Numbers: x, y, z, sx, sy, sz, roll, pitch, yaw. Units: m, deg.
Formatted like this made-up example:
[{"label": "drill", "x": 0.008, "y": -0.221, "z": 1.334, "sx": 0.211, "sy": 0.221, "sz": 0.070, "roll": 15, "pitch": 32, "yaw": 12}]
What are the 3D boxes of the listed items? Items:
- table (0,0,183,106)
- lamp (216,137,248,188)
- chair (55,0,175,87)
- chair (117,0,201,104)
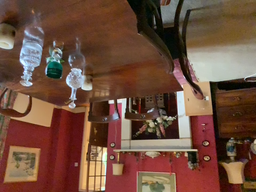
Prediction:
[{"label": "table", "x": -0.600, "y": -0.590, "z": 1.510, "sx": 1.510, "sy": 0.740, "sz": 1.900, "roll": -8, "pitch": 160, "yaw": 25}, {"label": "lamp", "x": 1.670, "y": 1.060, "z": 3.420, "sx": 0.360, "sy": 0.720, "sz": 0.430, "roll": -8, "pitch": 160, "yaw": 25}, {"label": "chair", "x": -0.040, "y": -0.570, "z": 1.330, "sx": 0.500, "sy": 0.860, "sz": 0.490, "roll": -8, "pitch": 160, "yaw": 25}, {"label": "chair", "x": 0.250, "y": -0.440, "z": 1.750, "sx": 0.460, "sy": 0.870, "sz": 0.470, "roll": -13, "pitch": 158, "yaw": 36}]
